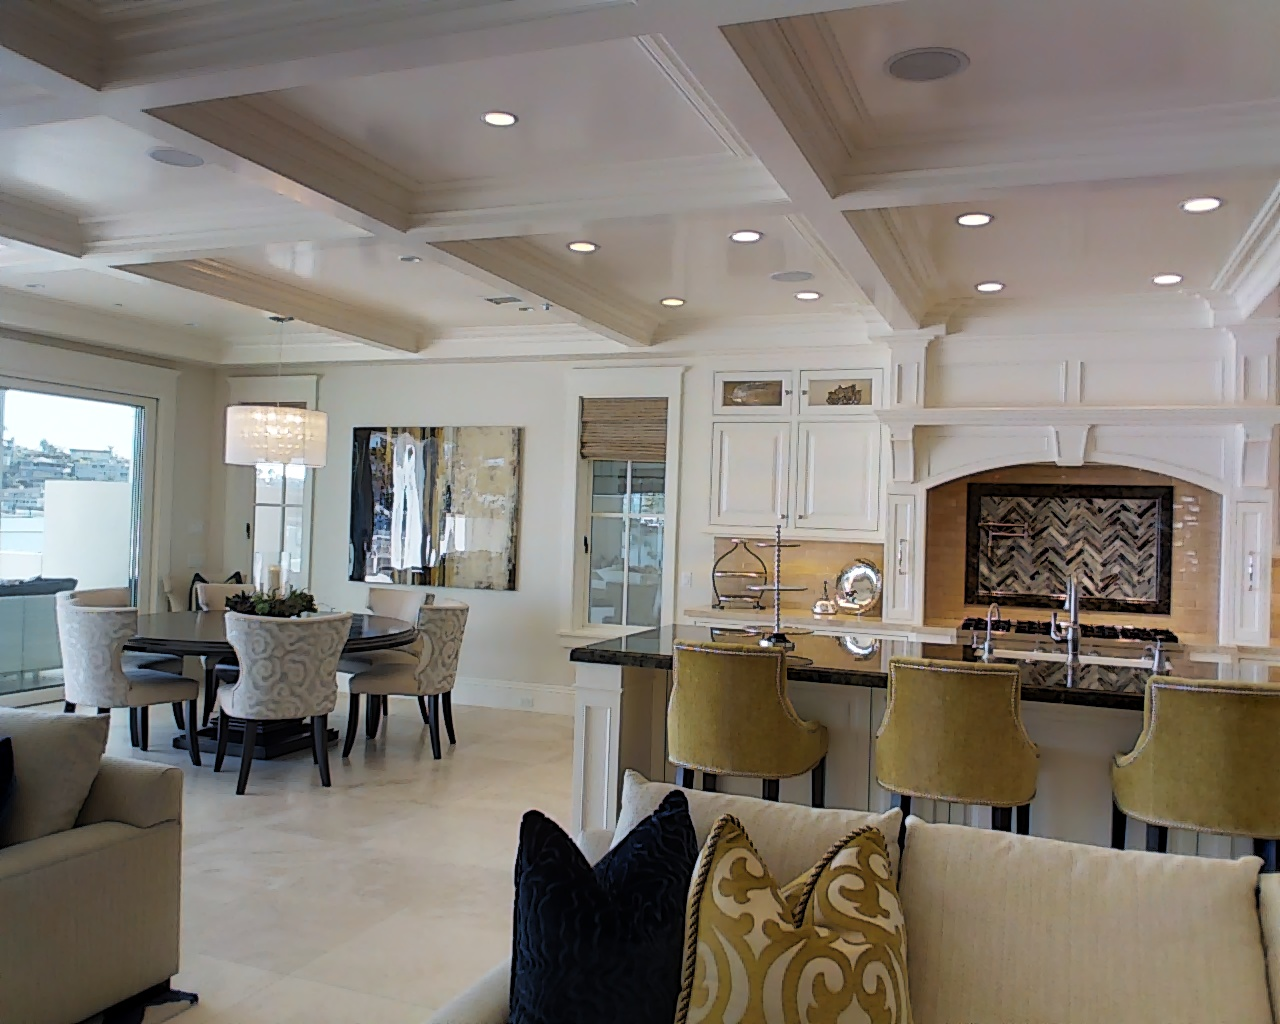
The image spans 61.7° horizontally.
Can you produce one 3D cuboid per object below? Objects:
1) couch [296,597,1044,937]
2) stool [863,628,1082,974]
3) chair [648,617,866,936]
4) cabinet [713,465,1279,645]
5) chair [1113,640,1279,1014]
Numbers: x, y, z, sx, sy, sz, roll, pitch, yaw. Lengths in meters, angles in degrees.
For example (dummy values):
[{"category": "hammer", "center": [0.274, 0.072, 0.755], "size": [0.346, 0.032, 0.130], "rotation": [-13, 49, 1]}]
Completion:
[{"category": "couch", "center": [0.380, 1.110, 5.910], "size": [3.389, 0.950, 2.660], "rotation": [2, -1, 22]}, {"category": "stool", "center": [1.279, 1.020, 4.070], "size": [0.700, 1.050, 0.760], "rotation": [2, -1, 21]}, {"category": "chair", "center": [0.500, 1.010, 4.380], "size": [0.680, 1.070, 0.720], "rotation": [2, -1, 22]}, {"category": "cabinet", "center": [3.179, 0.250, 6.530], "size": [5.568, 1.000, 0.410], "rotation": [2, -1, 22]}, {"category": "chair", "center": [2.059, 1.040, 3.740], "size": [0.690, 1.070, 0.740], "rotation": [2, -1, 21]}]
